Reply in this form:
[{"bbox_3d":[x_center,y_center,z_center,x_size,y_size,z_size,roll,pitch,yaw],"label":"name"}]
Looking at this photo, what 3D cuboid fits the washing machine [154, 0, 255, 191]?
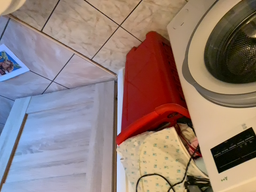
[{"bbox_3d":[0.520,-0.150,0.770,0.470,0.840,0.600,27,131,-30],"label":"washing machine"}]
